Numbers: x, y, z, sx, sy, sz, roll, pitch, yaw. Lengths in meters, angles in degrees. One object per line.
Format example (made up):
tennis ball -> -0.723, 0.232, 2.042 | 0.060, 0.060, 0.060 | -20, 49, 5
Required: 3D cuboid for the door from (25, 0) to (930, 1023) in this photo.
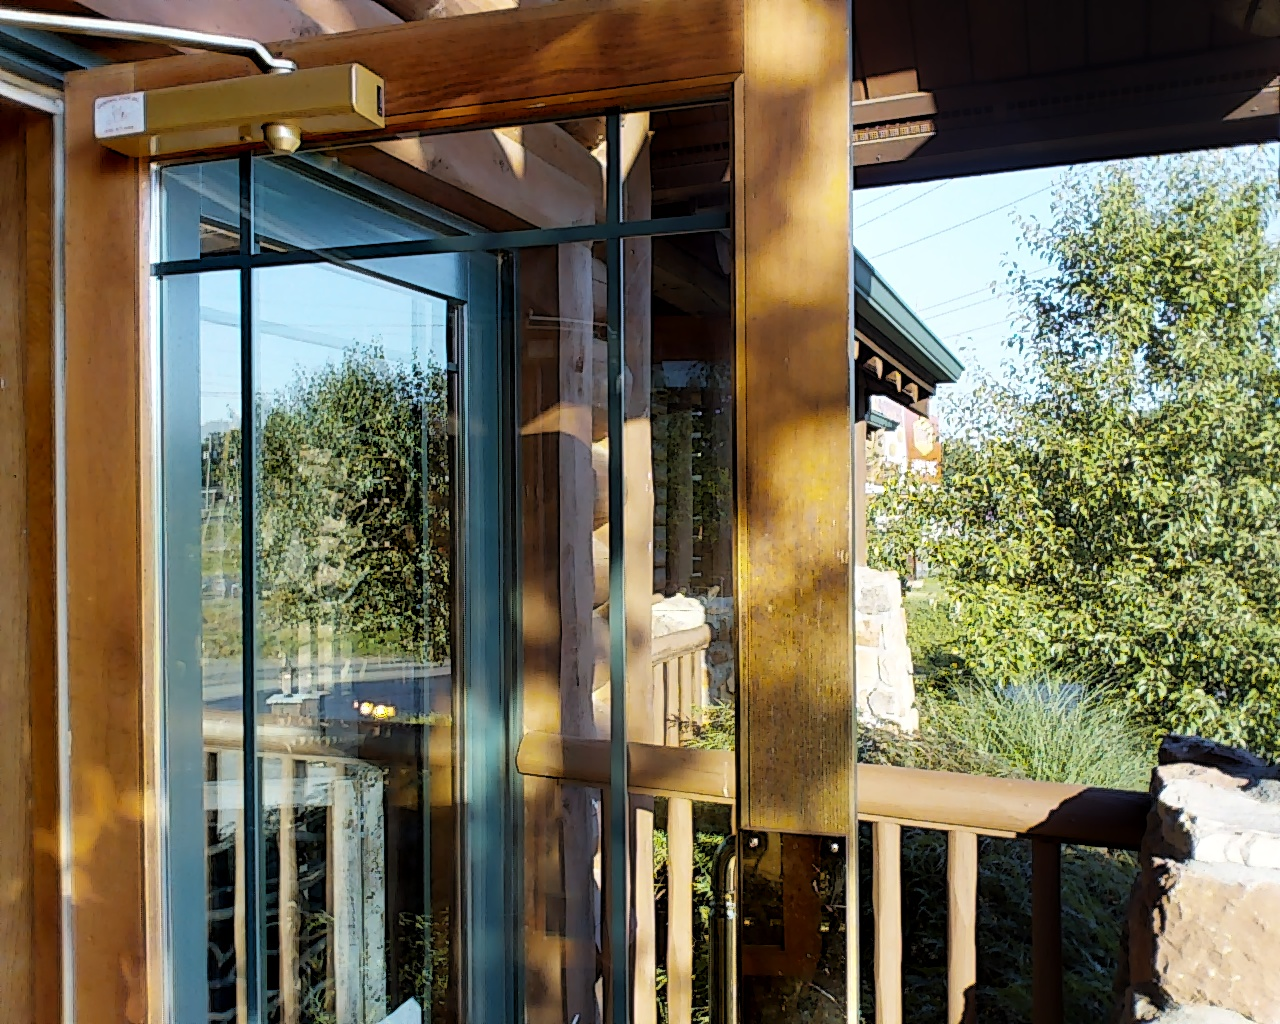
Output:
door -> -0.210, 0.500, 1.170 | 1.010, 2.100, 0.110 | 0, 1, 16
